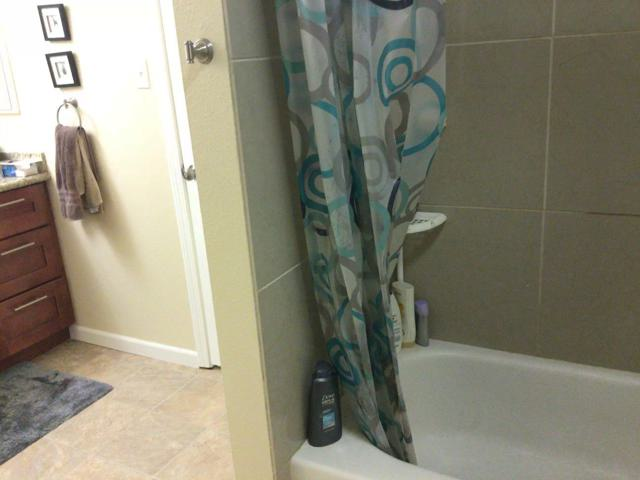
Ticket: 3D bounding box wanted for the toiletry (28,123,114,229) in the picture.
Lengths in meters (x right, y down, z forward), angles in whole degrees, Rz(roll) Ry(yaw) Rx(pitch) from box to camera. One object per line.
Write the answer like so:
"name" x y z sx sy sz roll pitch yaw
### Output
"toiletry" -1.110 -0.290 2.590 0.260 0.440 0.150 5 19 28
